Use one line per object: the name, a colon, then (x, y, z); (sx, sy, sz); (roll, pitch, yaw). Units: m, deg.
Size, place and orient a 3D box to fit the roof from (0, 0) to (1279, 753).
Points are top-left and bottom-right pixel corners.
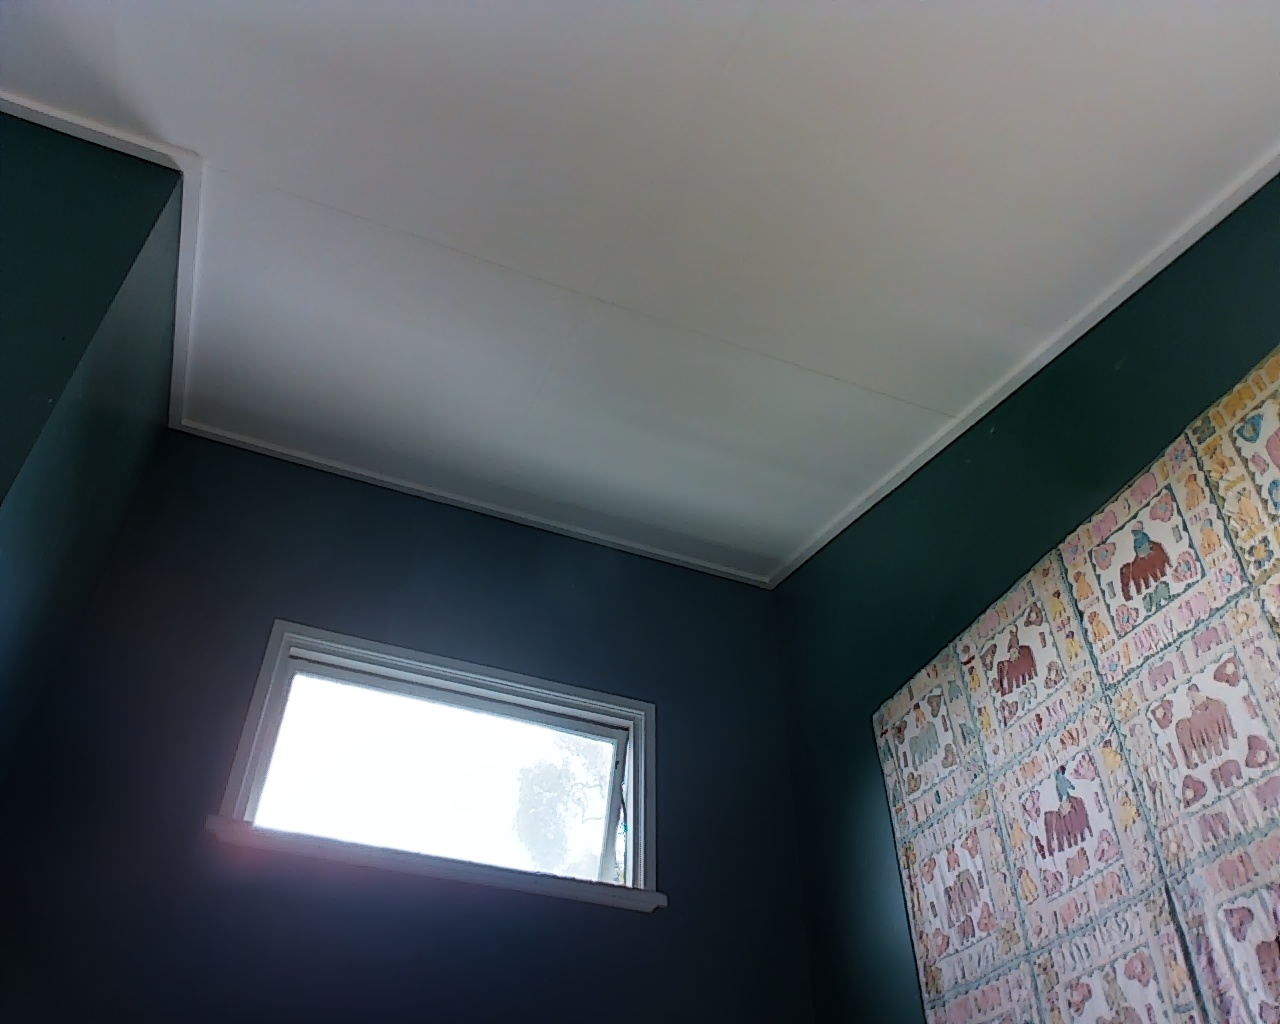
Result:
roof: (-0.130, -0.650, 2.720); (2.599, 0.670, 2.780); (16, -47, -16)
